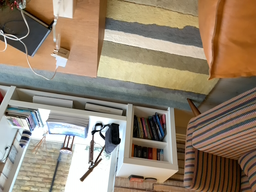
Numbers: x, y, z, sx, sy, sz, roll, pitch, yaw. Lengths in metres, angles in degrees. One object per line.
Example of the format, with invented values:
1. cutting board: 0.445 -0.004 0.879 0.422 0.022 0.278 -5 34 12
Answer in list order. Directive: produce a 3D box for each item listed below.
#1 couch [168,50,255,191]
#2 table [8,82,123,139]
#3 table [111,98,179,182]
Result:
1. couch: 0.890 0.340 1.420 0.820 0.790 0.860 25 140 -26
2. table: -0.490 0.140 1.790 0.830 0.200 0.350 10 144 -7
3. table: 0.130 0.370 1.770 0.450 0.530 0.350 10 144 -7
